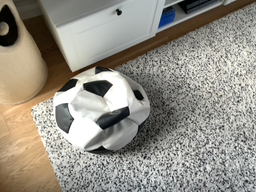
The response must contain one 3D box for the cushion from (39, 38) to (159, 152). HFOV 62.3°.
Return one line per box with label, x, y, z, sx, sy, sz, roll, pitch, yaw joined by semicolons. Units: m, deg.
cushion;-0.150;0.000;1.150;0.450;0.290;0.380;-27;72;-15
